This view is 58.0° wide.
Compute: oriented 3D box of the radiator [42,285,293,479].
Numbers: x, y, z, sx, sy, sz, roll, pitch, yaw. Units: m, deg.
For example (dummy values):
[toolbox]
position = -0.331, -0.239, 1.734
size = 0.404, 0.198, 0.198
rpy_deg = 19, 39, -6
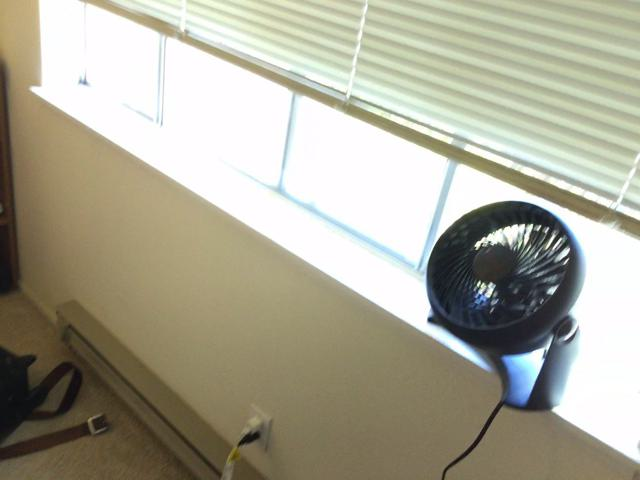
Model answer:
[radiator]
position = -0.330, 0.590, 1.620
size = 1.620, 0.210, 0.090
rpy_deg = 29, 31, 32

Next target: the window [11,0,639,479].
[window]
position = -0.110, -0.560, 1.070
size = 1.810, 1.230, 0.110
rpy_deg = 29, 31, 32

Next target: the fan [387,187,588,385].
[fan]
position = 0.250, 0.060, 0.890
size = 0.210, 0.200, 0.140
rpy_deg = 29, 31, 32
